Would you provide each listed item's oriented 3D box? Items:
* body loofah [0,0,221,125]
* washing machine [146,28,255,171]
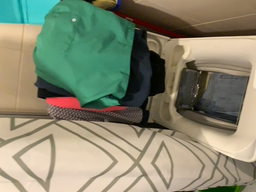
[{"bbox_3d":[-0.140,-0.150,0.790,0.430,0.900,0.410,12,95,55],"label":"body loofah"},{"bbox_3d":[0.590,0.010,1.050,0.500,0.810,0.430,15,97,55],"label":"washing machine"}]
